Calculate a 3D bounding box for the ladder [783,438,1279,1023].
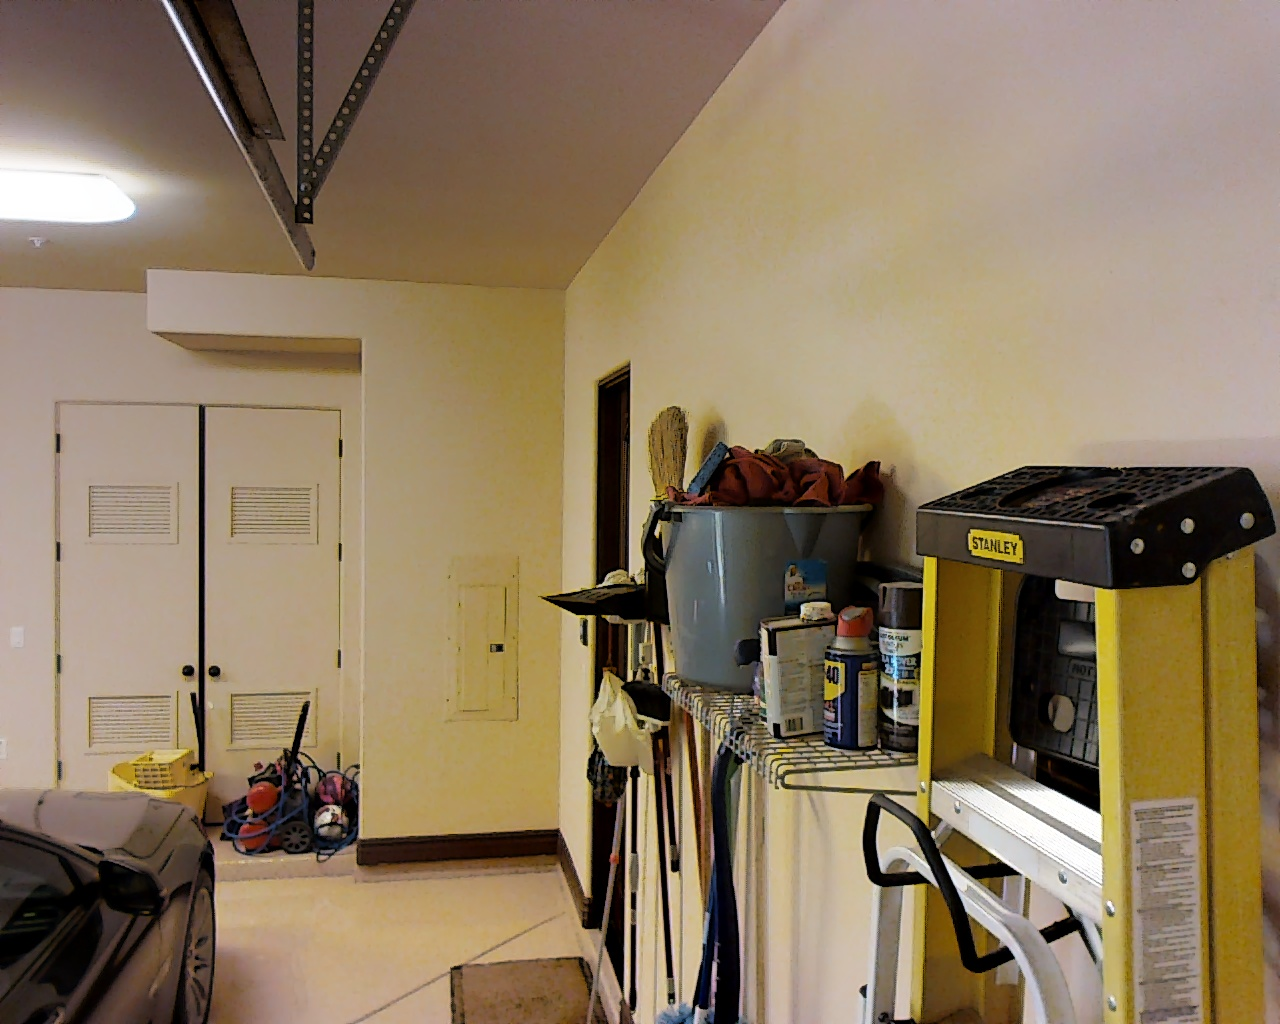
[{"bbox_3d":[0.380,0.990,1.080,0.280,2.100,0.660,1,2,-12],"label":"ladder"}]
